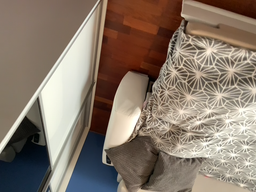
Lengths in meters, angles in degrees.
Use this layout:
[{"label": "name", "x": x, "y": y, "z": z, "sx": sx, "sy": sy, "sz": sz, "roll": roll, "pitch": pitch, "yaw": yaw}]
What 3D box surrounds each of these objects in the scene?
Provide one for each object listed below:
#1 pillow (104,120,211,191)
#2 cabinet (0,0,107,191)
[{"label": "pillow", "x": 0.240, "y": 0.580, "z": 1.850, "sx": 0.770, "sy": 0.350, "sz": 0.440, "roll": 17, "pitch": 139, "yaw": -2}, {"label": "cabinet", "x": -0.860, "y": 0.710, "z": 1.150, "sx": 0.620, "sy": 2.640, "sz": 1.820, "roll": 17, "pitch": 139, "yaw": -2}]
